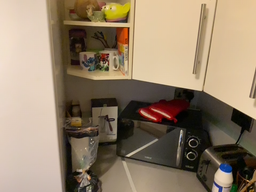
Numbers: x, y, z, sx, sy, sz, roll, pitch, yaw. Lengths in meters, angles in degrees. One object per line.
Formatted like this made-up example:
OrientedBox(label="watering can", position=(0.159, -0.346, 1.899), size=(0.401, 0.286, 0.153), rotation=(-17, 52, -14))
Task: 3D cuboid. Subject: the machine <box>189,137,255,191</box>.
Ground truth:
OrientedBox(label="machine", position=(0.460, 0.330, 1.040), size=(0.240, 0.180, 0.160), rotation=(-3, 20, -13))
